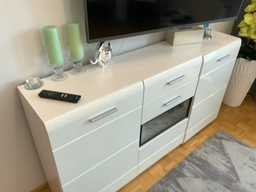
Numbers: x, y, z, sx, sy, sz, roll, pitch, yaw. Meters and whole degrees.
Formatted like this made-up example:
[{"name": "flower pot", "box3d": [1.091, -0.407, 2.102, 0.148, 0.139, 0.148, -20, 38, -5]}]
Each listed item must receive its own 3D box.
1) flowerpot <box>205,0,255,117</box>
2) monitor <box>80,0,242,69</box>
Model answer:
[{"name": "flowerpot", "box3d": [1.250, -0.510, 2.190, 0.450, 1.370, 0.400, -28, 43, -37]}, {"name": "monitor", "box3d": [0.280, -0.620, 1.200, 1.120, 0.810, 0.070, -14, 39, -26]}]
